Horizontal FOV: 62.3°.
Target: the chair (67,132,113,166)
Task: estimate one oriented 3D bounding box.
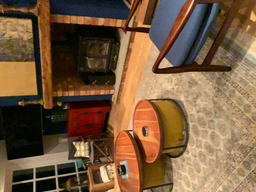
[{"bbox_3d":[-0.790,1.070,4.390,0.460,0.840,0.490,180,87,-68],"label":"chair"}]

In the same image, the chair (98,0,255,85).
[{"bbox_3d":[0.310,-0.590,1.410,0.620,0.810,0.790,-115,30,-43],"label":"chair"}]
